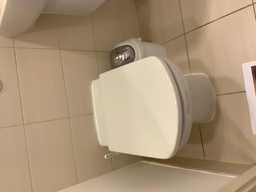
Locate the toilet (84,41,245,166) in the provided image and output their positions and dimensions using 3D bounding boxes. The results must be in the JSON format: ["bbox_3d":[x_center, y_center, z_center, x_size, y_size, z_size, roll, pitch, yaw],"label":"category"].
[{"bbox_3d":[0.130,0.040,0.980,0.550,0.410,0.380,-13,85,52],"label":"toilet"}]
